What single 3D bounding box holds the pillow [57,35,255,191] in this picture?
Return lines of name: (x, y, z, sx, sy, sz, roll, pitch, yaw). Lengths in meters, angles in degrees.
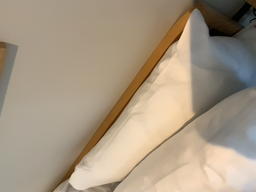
pillow: (0.160, 0.250, 0.610, 0.750, 0.360, 0.360, -46, 68, 36)
